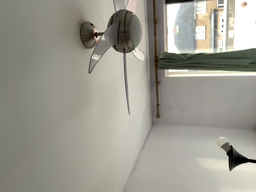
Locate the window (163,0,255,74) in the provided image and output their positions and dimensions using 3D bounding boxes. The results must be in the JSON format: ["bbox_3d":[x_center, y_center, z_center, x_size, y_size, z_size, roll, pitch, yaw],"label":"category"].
[{"bbox_3d":[1.240,-1.110,3.090,0.090,1.420,1.570,-46,-46,-65],"label":"window"}]
